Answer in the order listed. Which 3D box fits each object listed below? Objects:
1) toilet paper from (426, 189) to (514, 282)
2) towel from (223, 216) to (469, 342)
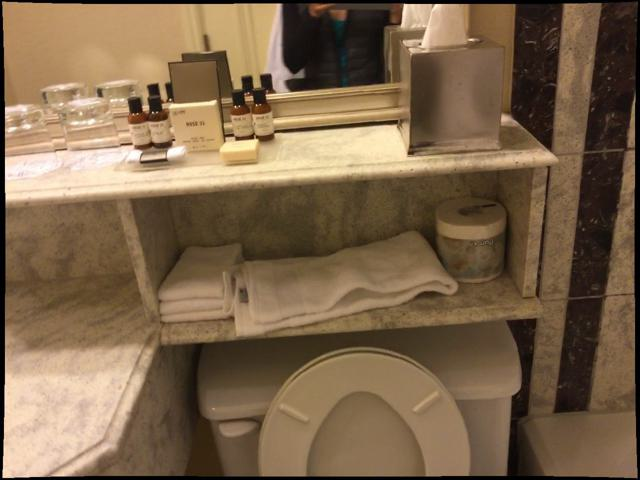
[{"bbox_3d":[0.260,-0.010,1.020,0.120,0.110,0.120,-7,26,1],"label":"toilet paper"},{"bbox_3d":[0.040,0.060,1.000,0.380,0.080,0.210,-7,26,1],"label":"towel"}]
